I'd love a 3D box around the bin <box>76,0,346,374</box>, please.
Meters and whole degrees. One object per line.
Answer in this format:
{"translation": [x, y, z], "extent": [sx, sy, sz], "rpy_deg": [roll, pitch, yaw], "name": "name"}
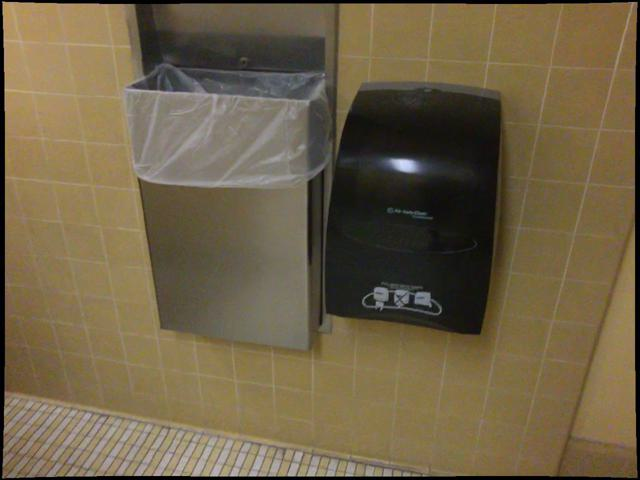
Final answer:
{"translation": [-0.209, -0.201, 1.280], "extent": [0.469, 0.972, 0.240], "rpy_deg": [8, 28, 12], "name": "bin"}
